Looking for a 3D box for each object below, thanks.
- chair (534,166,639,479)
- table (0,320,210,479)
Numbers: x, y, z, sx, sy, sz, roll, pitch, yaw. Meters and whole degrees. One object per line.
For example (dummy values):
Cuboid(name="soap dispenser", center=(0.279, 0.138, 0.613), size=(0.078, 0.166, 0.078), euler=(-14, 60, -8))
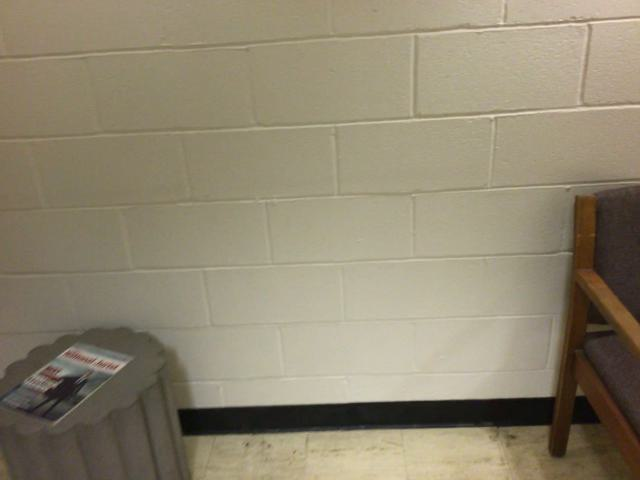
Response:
Cuboid(name="chair", center=(0.960, 0.320, 1.330), size=(0.680, 0.860, 0.660), euler=(-3, 21, 4))
Cuboid(name="table", center=(-0.630, 0.550, 1.620), size=(0.480, 0.460, 0.460), euler=(-3, 21, 4))
